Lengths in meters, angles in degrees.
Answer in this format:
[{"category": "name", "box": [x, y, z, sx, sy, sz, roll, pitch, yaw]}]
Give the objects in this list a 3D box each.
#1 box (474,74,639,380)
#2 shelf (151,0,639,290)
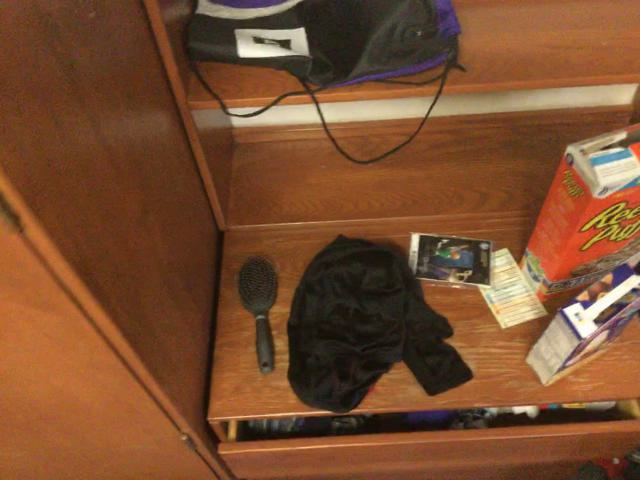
[{"category": "box", "box": [0.440, -0.010, 0.930, 0.180, 0.360, 0.300, 37, 63, 27]}, {"category": "shelf", "box": [0.220, -0.320, 0.890, 0.800, 0.800, 0.310, -7, 50, 4]}]
